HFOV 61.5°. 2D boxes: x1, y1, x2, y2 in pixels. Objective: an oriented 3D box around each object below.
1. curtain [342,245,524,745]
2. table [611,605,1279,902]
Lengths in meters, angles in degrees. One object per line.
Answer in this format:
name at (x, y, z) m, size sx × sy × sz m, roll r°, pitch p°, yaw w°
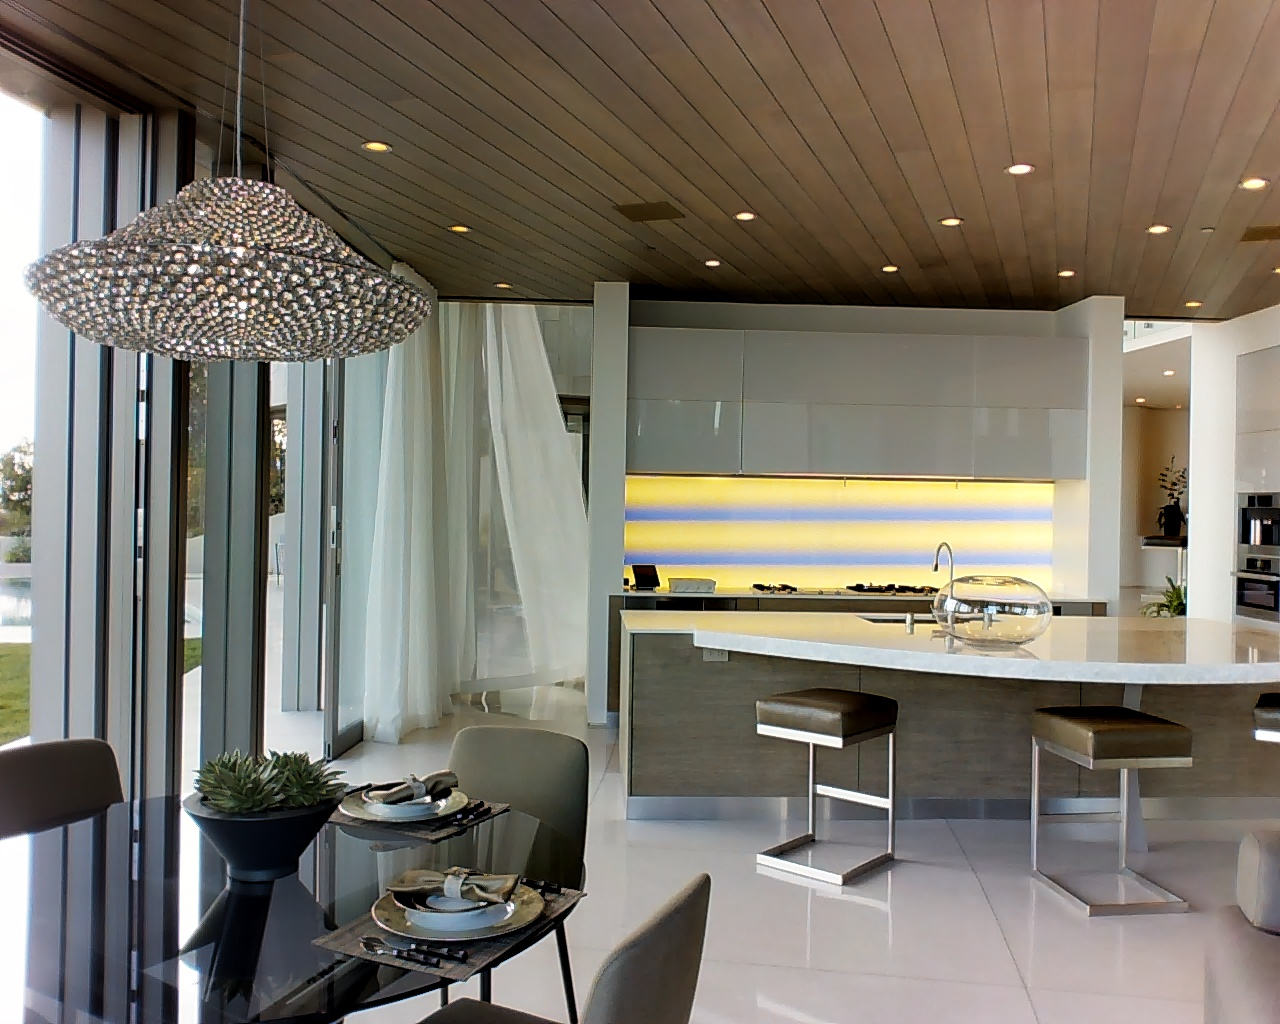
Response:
curtain at (-1.410, -0.110, 7.770) m, size 0.860 × 3.130 × 2.040 m, roll 1°, pitch 0°, yaw 1°
table at (1.620, 1.040, 5.260) m, size 3.459 × 0.950 × 2.100 m, roll 1°, pitch 0°, yaw 0°
